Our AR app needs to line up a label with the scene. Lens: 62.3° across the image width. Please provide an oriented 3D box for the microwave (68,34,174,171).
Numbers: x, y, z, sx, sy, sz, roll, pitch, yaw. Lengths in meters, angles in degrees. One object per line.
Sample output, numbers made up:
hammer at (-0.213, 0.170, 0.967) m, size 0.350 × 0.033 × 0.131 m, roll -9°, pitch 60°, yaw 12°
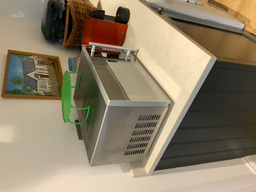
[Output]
microwave at (-0.090, 0.010, 1.030) m, size 0.500 × 0.270 × 0.400 m, roll 60°, pitch 140°, yaw 45°
